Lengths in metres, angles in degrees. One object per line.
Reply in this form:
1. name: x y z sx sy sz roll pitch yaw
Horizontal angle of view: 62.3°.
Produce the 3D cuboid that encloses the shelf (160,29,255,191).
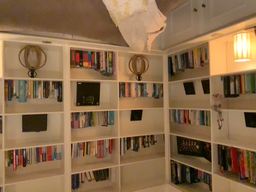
1. shelf: 0.960 0.420 2.510 0.280 2.000 1.530 0 179 -28
